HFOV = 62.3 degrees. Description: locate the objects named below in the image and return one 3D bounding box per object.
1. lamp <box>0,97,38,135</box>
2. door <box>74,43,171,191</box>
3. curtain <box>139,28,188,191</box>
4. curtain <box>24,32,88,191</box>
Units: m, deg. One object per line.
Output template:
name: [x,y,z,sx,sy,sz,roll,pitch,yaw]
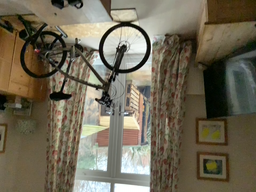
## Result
lamp: [-1.760,0.330,3.450,0.390,0.570,0.310,1,171,10]
door: [-0.080,0.410,3.590,1.580,2.610,0.110,0,171,14]
curtain: [0.500,0.490,2.910,0.610,2.870,0.230,0,171,14]
curtain: [-1.110,0.410,3.330,0.710,2.830,0.290,0,171,11]
